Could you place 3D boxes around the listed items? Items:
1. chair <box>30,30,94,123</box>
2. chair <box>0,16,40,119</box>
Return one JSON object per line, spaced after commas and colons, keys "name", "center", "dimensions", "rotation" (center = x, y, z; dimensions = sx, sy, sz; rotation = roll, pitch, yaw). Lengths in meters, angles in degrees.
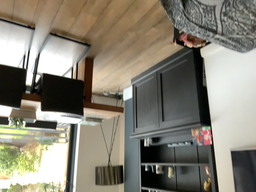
{"name": "chair", "center": [-0.780, -0.180, 2.530], "dimensions": [0.520, 0.880, 0.580], "rotation": [10, 160, -31]}
{"name": "chair", "center": [-1.310, -0.270, 2.230], "dimensions": [0.520, 0.880, 0.580], "rotation": [10, 160, -31]}
